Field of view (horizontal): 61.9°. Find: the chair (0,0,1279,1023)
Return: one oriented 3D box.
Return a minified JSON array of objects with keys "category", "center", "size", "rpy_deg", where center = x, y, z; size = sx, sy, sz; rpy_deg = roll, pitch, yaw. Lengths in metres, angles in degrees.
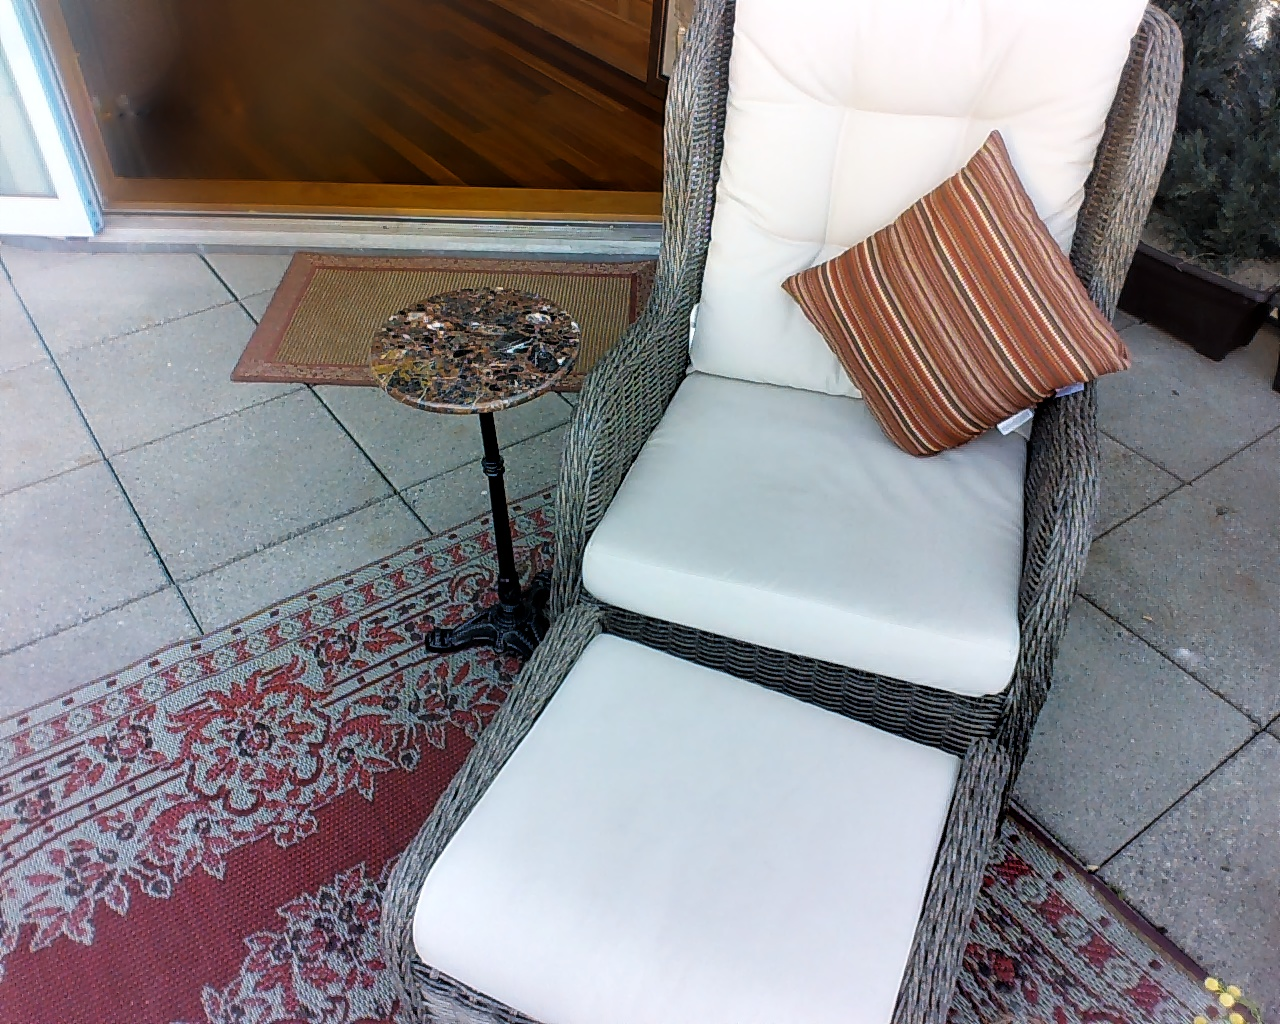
[{"category":"chair","center":[0.220,0.030,1.340],"size":[0.810,1.050,1.460],"rpy_deg":[15,44,15]}]
